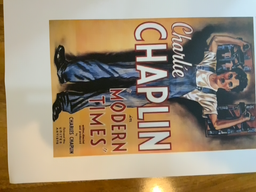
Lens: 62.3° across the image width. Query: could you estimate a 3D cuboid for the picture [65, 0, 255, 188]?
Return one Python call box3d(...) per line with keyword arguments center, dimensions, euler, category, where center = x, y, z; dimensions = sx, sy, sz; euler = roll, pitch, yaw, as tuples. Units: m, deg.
box3d(center=(0.080, -0.010, 0.230), dimensions=(0.290, 0.010, 0.210), euler=(0, 91, -3), category="picture")
